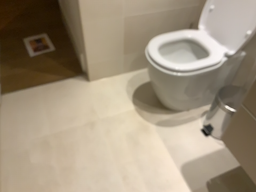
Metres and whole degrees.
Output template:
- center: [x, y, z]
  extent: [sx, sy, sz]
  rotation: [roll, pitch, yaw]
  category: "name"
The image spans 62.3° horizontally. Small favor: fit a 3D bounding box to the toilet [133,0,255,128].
- center: [0.360, -0.290, 1.240]
  extent: [0.510, 0.850, 0.400]
  rotation: [-16, 50, -16]
  category: "toilet"
